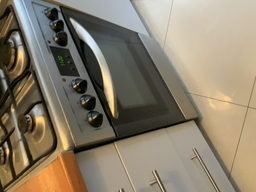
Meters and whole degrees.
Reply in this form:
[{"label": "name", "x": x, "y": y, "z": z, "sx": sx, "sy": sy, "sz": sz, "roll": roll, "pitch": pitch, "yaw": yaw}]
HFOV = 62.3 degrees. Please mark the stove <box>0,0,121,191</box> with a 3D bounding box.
[{"label": "stove", "x": -0.380, "y": 0.060, "z": 0.740, "sx": 0.620, "sy": 0.170, "sz": 0.500, "roll": -39, "pitch": 68, "yaw": 33}]
